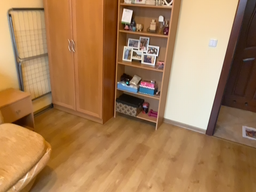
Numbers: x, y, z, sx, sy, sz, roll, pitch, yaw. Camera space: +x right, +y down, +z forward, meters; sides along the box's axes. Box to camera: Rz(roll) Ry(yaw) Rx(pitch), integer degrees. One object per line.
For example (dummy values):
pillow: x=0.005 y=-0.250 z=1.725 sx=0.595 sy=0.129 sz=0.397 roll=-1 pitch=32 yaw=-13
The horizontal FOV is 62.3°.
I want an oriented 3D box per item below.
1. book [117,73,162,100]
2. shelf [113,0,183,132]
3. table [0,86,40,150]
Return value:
book: x=0.140 y=-0.130 z=2.650 sx=0.510 sy=0.170 sz=0.210 roll=15 pitch=26 yaw=23
shelf: x=0.200 y=-0.490 z=2.470 sx=0.610 sy=1.740 sz=0.330 roll=15 pitch=26 yaw=24
table: x=-1.210 y=0.210 z=2.220 sx=0.300 sy=0.490 sz=0.400 roll=15 pitch=26 yaw=23
